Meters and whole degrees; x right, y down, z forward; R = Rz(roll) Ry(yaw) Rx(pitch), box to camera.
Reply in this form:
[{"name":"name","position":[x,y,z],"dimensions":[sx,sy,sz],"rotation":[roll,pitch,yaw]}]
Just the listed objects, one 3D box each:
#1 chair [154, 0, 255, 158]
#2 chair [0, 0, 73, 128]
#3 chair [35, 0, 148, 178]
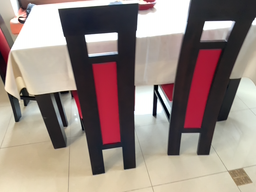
[{"name":"chair","position":[0.390,-0.130,1.320],"dimensions":[0.370,1.030,0.470],"rotation":[-1,38,1]},{"name":"chair","position":[-0.780,-0.290,1.560],"dimensions":[0.470,1.040,0.440],"rotation":[-1,38,1]},{"name":"chair","position":[-0.160,-0.050,1.250],"dimensions":[0.400,1.020,0.470],"rotation":[-9,38,-9]}]
